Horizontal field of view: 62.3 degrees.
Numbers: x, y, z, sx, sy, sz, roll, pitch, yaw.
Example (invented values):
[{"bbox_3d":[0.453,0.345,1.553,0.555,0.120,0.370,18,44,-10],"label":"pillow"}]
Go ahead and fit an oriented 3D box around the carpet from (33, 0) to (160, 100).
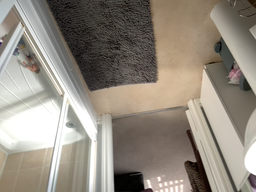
[{"bbox_3d":[-0.130,-0.330,1.290,0.570,0.030,0.910,-11,138,5],"label":"carpet"}]
